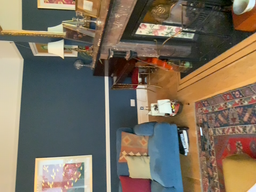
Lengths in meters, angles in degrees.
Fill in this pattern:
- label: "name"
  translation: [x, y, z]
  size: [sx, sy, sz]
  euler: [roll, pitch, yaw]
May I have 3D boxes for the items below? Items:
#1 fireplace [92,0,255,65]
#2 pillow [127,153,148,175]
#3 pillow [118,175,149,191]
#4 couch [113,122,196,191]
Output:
- label: "fireplace"
  translation: [0.350, -0.860, 2.160]
  size: [1.970, 1.240, 0.310]
  euler: [137, 132, -71]
- label: "pillow"
  translation: [0.130, 0.960, 3.010]
  size: [0.130, 0.290, 0.270]
  euler: [96, 172, -78]
- label: "pillow"
  translation: [0.080, 1.330, 2.950]
  size: [0.220, 0.410, 0.400]
  euler: [85, -178, -75]
- label: "couch"
  translation: [0.300, 1.200, 2.970]
  size: [0.990, 0.830, 1.580]
  euler: [144, 126, -72]
